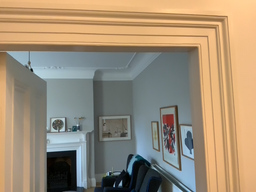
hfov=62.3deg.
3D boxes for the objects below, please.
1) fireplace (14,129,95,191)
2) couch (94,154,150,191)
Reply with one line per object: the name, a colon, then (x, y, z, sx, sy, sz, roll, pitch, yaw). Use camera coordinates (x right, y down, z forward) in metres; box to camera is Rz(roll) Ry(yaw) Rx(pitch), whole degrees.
fireplace: (-1.710, 1.580, 5.230, 1.720, 1.400, 0.930, -1, -5, -10)
couch: (-0.120, 1.620, 3.760, 0.900, 0.980, 0.680, -2, -5, -7)
